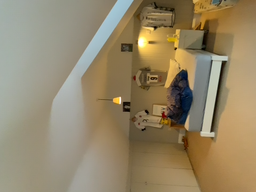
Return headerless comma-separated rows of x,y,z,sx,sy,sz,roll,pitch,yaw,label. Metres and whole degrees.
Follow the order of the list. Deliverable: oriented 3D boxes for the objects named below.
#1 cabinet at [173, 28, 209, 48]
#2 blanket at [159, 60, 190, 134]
1.320,-1.240,4.530,0.490,0.620,0.380,-79,-8,-73,cabinet
0.840,0.000,4.080,0.970,0.340,1.040,-84,-4,-55,blanket
